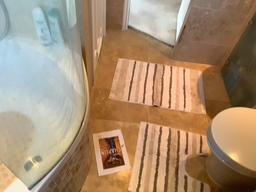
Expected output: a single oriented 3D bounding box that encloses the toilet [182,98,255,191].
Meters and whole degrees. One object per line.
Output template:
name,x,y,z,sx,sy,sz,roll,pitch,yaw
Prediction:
toilet,0.680,0.340,1.260,0.560,0.450,0.400,7,52,-2
